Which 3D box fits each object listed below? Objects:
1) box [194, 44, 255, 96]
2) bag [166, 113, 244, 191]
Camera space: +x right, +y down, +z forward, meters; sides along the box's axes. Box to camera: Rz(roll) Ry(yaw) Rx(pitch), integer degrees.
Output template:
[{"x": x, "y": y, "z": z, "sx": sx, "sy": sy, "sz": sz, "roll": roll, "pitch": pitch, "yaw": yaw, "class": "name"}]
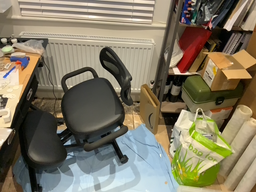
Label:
[{"x": 0.640, "y": -0.170, "z": 1.350, "sx": 0.300, "sy": 0.210, "sz": 0.270, "roll": -1, "pitch": 41, "yaw": -8, "class": "box"}, {"x": 0.500, "y": 0.400, "z": 1.500, "sx": 0.300, "sy": 0.400, "sz": 0.380, "roll": 0, "pitch": 41, "yaw": -7, "class": "bag"}]
